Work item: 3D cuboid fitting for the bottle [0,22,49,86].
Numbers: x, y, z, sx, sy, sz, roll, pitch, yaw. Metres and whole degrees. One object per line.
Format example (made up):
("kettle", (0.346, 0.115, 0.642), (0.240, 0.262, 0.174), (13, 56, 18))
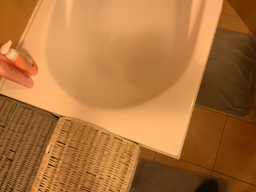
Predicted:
("bottle", (-0.450, -0.160, 0.810), (0.170, 0.170, 0.160), (19, 79, 12))

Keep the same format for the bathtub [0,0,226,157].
("bathtub", (0.090, -0.520, 1.210), (0.790, 0.550, 1.470), (18, 79, 12))
